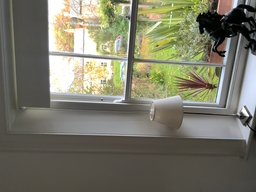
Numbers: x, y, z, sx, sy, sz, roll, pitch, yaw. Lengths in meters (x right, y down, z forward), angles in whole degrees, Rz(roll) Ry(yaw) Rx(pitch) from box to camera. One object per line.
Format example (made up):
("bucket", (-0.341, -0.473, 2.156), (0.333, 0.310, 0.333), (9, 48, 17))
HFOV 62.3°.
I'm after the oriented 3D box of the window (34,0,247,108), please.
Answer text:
("window", (0.090, -0.480, 1.330), (0.090, 1.270, 1.100), (-109, 22, -73))
